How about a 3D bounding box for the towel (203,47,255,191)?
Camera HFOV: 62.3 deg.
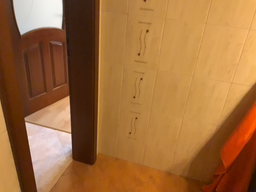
[{"bbox_3d":[0.810,0.300,1.450,0.280,1.200,0.200,12,29,12],"label":"towel"}]
